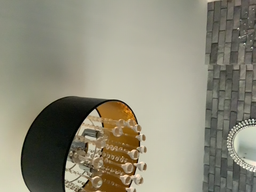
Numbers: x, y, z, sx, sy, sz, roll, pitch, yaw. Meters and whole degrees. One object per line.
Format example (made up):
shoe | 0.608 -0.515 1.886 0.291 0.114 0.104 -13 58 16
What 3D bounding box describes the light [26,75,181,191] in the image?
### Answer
light | -0.110 0.210 0.950 0.380 0.440 0.450 35 -64 26
